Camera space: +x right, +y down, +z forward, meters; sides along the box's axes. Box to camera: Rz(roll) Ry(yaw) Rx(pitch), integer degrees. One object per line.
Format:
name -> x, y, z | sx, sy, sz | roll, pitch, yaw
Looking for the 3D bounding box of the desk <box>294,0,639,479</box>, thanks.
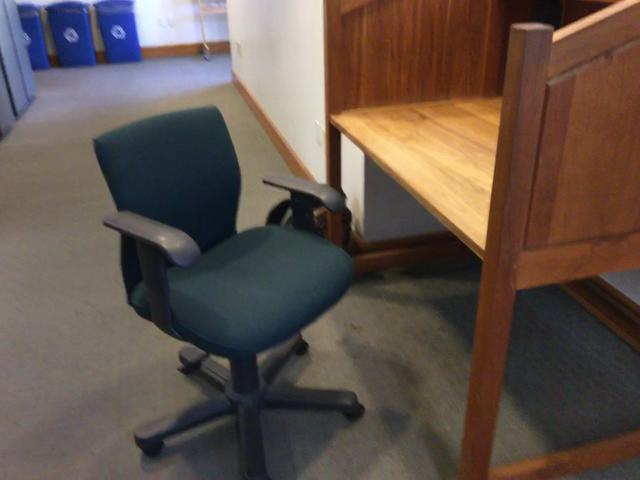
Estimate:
desk -> 0.590, -0.230, 1.730 | 1.030, 1.510, 1.390 | -7, 22, -12
